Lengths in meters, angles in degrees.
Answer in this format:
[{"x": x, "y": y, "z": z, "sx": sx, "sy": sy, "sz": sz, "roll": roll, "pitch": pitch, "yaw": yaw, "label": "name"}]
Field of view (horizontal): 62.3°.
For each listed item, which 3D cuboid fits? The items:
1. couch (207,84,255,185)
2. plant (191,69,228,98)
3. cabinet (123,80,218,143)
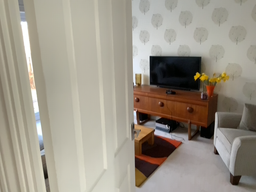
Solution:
[{"x": 1.530, "y": 0.390, "z": 2.490, "sx": 0.870, "sy": 0.900, "sz": 0.830, "roll": 0, "pitch": 16, "yaw": 4, "label": "couch"}, {"x": 1.180, "y": -0.200, "z": 3.090, "sx": 0.410, "sy": 0.330, "sz": 0.280, "roll": 11, "pitch": 20, "yaw": 37, "label": "plant"}, {"x": 0.660, "y": 0.190, "z": 3.640, "sx": 1.510, "sy": 0.700, "sz": 0.480, "roll": 11, "pitch": 20, "yaw": 35, "label": "cabinet"}]
